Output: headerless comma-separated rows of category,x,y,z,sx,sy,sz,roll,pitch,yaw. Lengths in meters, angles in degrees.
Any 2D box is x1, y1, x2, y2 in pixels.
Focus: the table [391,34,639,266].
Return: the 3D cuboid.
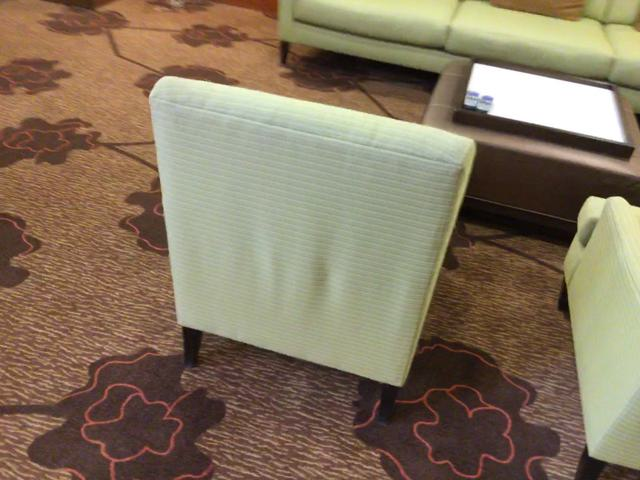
table,0.890,-0.460,2.600,0.890,0.480,0.910,16,39,10
